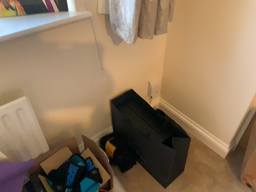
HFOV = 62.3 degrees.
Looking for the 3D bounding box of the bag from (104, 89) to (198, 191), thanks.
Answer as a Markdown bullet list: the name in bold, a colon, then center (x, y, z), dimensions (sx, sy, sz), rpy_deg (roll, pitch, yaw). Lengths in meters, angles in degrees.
- **bag**: center (0.110, 0.250, 1.290), dimensions (0.230, 0.320, 0.500), rpy_deg (-30, 49, -30)
